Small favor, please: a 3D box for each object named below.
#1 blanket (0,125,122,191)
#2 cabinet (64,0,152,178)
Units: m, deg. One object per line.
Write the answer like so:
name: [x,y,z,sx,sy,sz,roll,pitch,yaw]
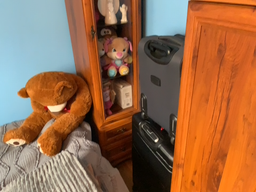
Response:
blanket: [-0.360,0.490,1.020,0.500,0.260,0.660,-17,33,-27]
cabinet: [-0.140,-0.290,1.650,0.470,1.970,0.410,-17,32,-26]
